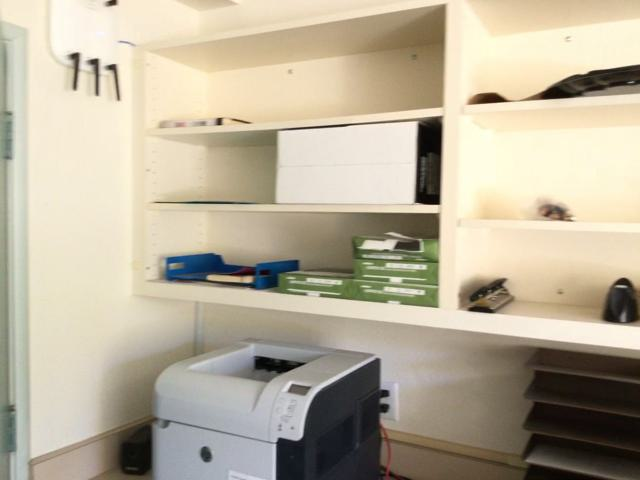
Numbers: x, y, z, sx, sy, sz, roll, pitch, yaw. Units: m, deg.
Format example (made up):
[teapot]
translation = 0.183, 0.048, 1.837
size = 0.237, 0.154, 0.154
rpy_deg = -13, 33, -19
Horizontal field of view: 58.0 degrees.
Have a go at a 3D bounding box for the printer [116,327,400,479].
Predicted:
[printer]
translation = -0.140, 0.490, 1.460
size = 0.510, 0.410, 0.490
rpy_deg = 3, 2, 31

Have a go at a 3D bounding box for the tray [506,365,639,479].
[tray]
translation = 0.630, 0.520, 1.330
size = 0.340, 0.370, 0.220
rpy_deg = 3, 2, 31
